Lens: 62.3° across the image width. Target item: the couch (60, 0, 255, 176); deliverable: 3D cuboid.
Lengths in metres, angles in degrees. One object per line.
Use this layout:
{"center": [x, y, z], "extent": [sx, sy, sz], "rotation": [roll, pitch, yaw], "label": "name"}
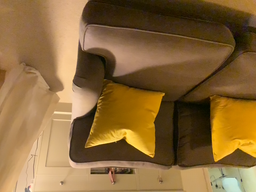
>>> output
{"center": [0.430, 0.030, 1.580], "extent": [1.660, 0.840, 1.110], "rotation": [4, 148, -13], "label": "couch"}
